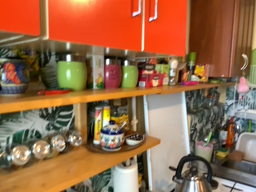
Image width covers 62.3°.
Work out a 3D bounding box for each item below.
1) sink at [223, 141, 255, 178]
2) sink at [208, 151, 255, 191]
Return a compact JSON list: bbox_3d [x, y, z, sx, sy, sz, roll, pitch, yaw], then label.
[{"bbox_3d":[1.020,0.520,1.730,0.360,0.150,0.330,6,8,40],"label":"sink"},{"bbox_3d":[0.800,0.550,1.480,0.360,0.150,0.330,6,8,40],"label":"sink"}]
